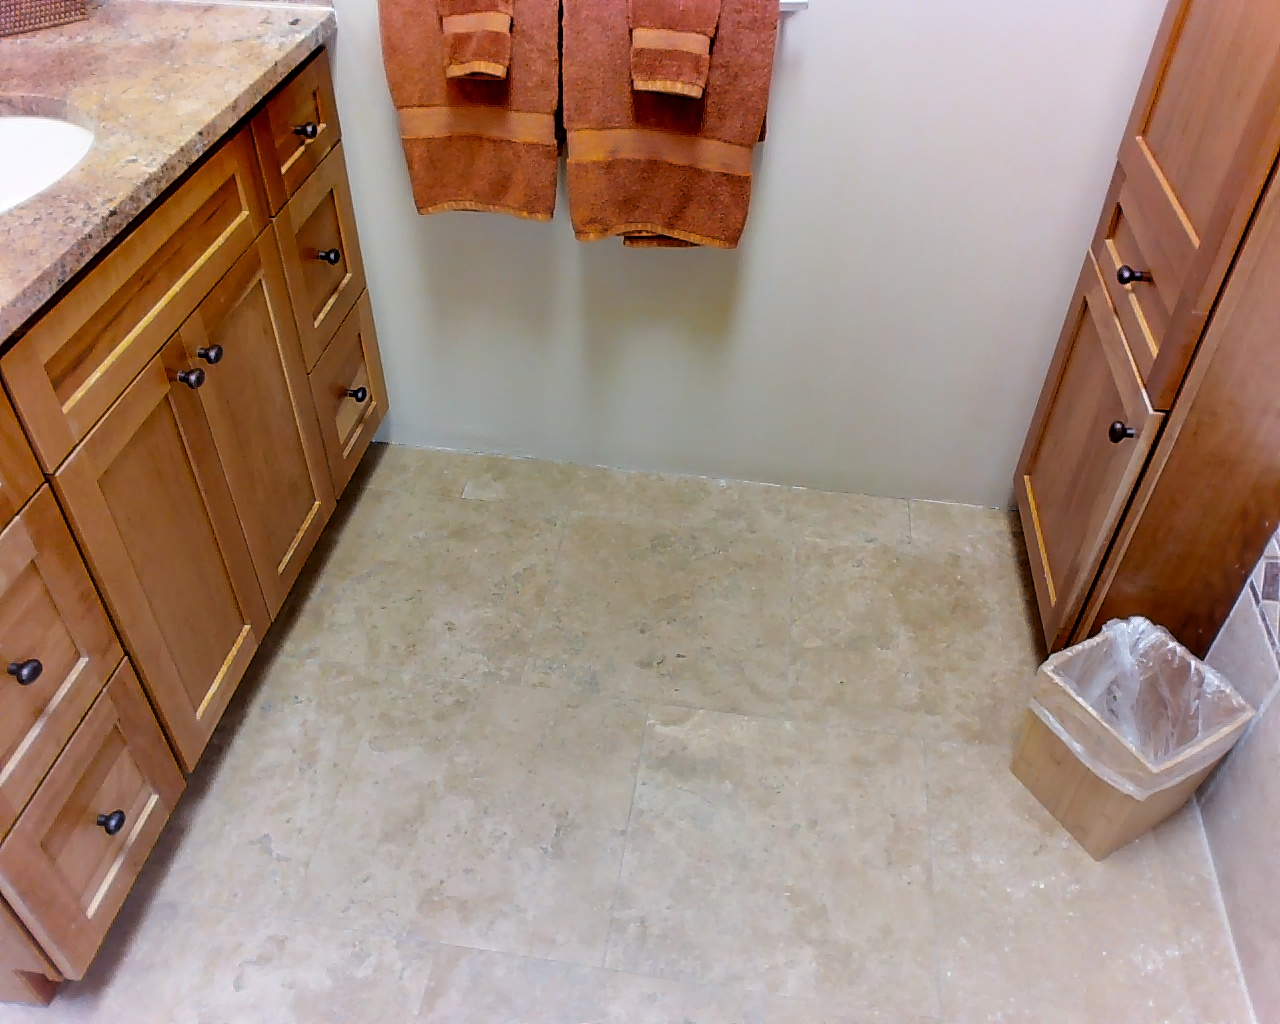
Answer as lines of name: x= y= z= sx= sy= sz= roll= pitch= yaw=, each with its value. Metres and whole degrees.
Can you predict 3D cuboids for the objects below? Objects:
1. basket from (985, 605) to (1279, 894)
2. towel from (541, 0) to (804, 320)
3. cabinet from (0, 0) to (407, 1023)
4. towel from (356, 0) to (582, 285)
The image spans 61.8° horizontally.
basket: x=0.720 y=0.350 z=1.600 sx=0.230 sy=0.260 sz=0.250 roll=-22 pitch=47 yaw=-23
towel: x=0.050 y=-0.560 z=1.650 sx=0.350 sy=0.460 sz=0.190 roll=6 pitch=43 yaw=5
cabinet: x=-0.860 y=-0.050 z=1.540 sx=0.580 sy=0.900 sz=1.250 roll=6 pitch=43 yaw=5
towel: x=-0.250 y=-0.610 z=1.690 sx=0.280 sy=0.440 sz=0.180 roll=6 pitch=43 yaw=5
